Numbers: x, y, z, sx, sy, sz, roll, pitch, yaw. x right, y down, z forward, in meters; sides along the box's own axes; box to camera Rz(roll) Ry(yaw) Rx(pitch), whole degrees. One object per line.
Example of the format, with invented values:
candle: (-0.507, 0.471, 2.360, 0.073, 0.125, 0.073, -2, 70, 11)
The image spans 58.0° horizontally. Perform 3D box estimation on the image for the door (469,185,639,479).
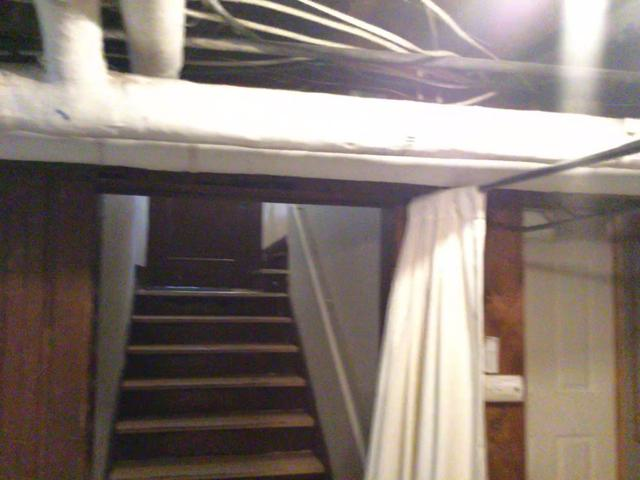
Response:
door: (1.010, 0.830, 2.420, 0.690, 2.040, 0.270, 4, -6, -13)
